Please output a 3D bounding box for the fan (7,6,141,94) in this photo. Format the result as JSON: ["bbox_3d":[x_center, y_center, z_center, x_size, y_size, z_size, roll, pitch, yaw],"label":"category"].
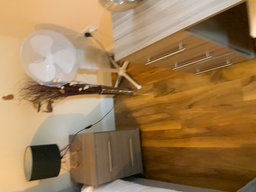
[{"bbox_3d":[-0.410,-0.300,1.820,0.400,1.030,0.460,-14,77,48],"label":"fan"}]
